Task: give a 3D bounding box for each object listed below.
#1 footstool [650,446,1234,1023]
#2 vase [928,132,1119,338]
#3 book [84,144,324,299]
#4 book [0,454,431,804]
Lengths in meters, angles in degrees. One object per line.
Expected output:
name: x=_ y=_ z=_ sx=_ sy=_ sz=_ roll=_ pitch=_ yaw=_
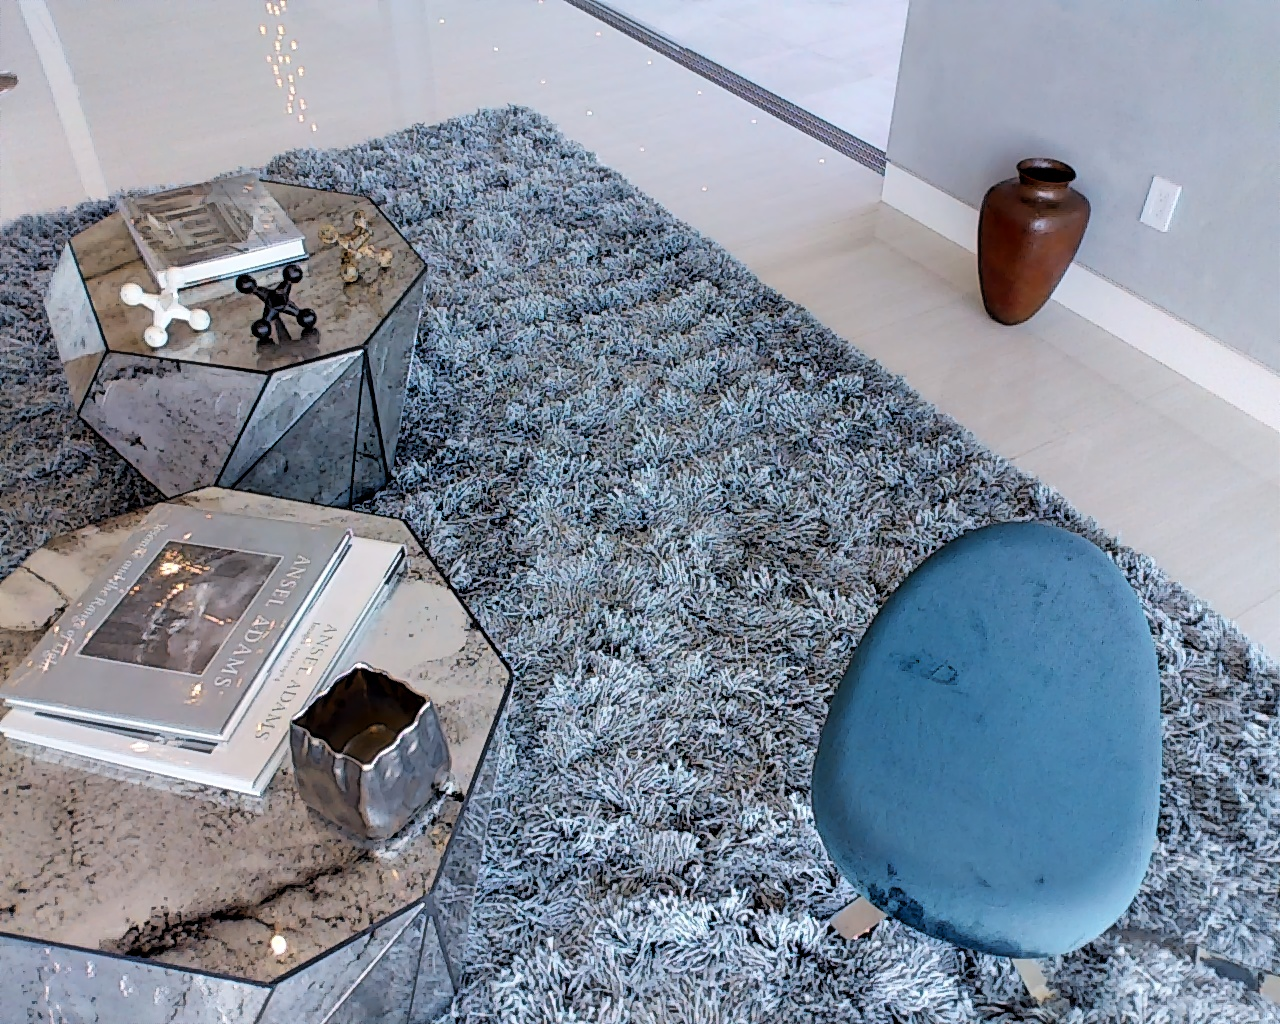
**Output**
footstool: x=0.440 y=0.360 z=1.540 sx=0.570 sy=0.410 sz=0.770 roll=18 pitch=45 yaw=19
vase: x=1.010 y=-0.740 z=2.870 sx=0.300 sy=0.400 sz=0.270 roll=-22 pitch=46 yaw=-23
book: x=-0.960 y=-0.650 z=2.350 sx=0.380 sy=0.060 sz=0.480 roll=-22 pitch=46 yaw=-23
book: x=-0.600 y=0.130 z=1.470 sx=0.480 sy=0.080 sz=0.490 roll=7 pitch=42 yaw=8
